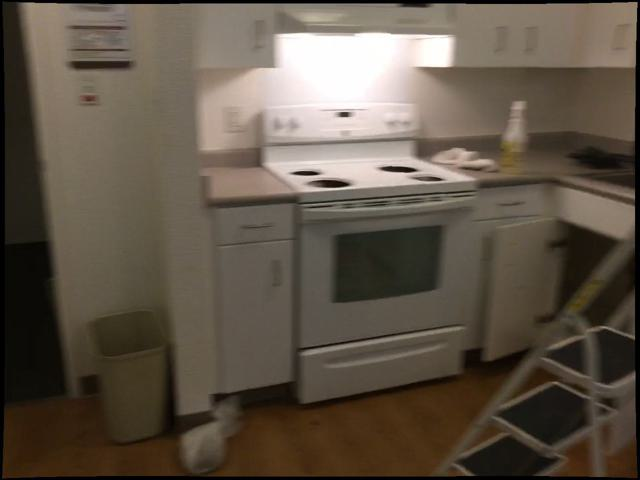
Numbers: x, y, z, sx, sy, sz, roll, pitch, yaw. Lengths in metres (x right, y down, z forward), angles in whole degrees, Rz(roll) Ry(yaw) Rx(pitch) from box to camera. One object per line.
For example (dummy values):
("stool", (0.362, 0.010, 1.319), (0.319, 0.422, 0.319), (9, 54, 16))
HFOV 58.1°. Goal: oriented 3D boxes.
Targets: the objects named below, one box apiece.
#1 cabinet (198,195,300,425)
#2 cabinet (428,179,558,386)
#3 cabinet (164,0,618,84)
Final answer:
("cabinet", (-0.269, 0.281, 2.250), (0.359, 0.892, 0.090), (-6, 20, -21))
("cabinet", (0.768, 0.190, 2.610), (0.459, 0.892, 0.160), (-6, 20, -21))
("cabinet", (0.349, -1.143, 2.430), (1.916, 0.902, 0.510), (-6, 20, -21))
